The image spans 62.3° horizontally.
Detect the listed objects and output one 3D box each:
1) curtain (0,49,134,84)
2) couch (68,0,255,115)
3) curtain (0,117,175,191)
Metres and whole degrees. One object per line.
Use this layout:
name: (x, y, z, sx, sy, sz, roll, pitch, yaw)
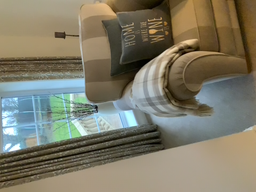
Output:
curtain: (-0.980, -0.370, 2.540, 0.140, 2.200, 0.380, -56, 47, 51)
couch: (0.160, -0.480, 1.690, 1.090, 0.930, 1.110, -15, 82, 62)
curtain: (-0.600, 0.620, 2.010, 0.220, 2.270, 0.480, -57, 46, 50)
